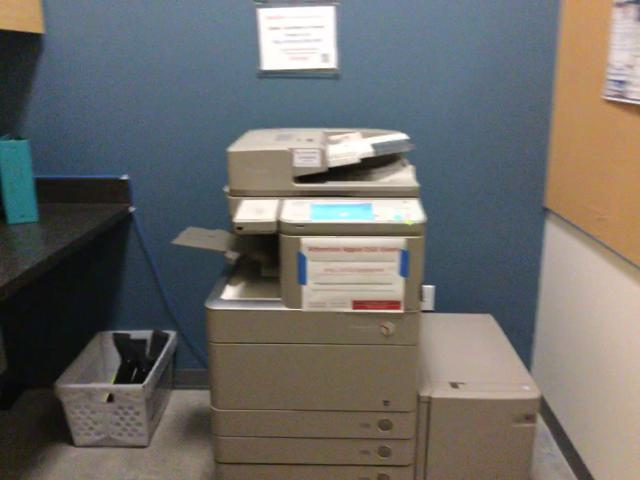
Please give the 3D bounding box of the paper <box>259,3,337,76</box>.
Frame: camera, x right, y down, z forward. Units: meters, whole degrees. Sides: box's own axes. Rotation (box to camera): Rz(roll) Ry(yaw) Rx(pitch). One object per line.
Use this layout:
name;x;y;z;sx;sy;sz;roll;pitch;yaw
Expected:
paper;-0.080;-0.740;2.140;0.280;0.250;0.050;1;15;2
